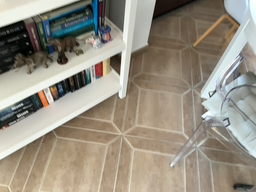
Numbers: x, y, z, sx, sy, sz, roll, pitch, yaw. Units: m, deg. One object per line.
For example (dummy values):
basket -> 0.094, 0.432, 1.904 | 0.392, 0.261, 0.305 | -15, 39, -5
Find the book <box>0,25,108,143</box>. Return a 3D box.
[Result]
book -> -0.600, -0.040, 1.220 | 0.960, 0.320, 0.300 | -30, 63, -24

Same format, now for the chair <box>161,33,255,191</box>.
chair -> 0.590, 0.150, 1.120 | 0.480, 0.810, 0.460 | -27, 62, -23
